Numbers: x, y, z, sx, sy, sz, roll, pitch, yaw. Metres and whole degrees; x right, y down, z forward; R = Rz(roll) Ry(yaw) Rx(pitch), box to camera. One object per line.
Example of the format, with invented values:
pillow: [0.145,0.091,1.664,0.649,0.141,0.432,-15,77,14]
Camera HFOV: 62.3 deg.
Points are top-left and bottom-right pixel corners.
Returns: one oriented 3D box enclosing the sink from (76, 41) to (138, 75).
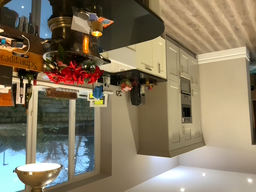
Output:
sink: [-0.270,-0.470,2.790,0.540,0.230,0.610,-5,174,35]
